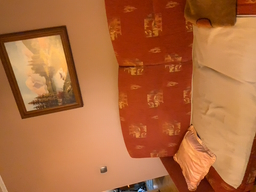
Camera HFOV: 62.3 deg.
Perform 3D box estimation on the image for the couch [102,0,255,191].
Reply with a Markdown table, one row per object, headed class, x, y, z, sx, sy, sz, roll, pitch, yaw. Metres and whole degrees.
| class | x | y | z | sx | sy | sz | roll | pitch | yaw |
| --- | --- | --- | --- | --- | --- | --- | --- | --- | --- |
| couch | 0.460 | -0.220 | 1.680 | 1.040 | 1.050 | 2.440 | -123 | 25 | -64 |
